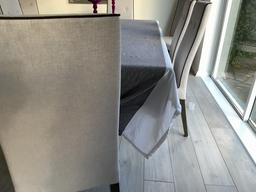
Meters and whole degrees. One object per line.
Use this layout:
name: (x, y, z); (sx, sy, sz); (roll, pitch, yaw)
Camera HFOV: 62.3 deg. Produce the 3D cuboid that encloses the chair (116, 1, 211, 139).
chair: (0.200, -0.210, 1.750); (0.590, 1.020, 0.490); (0, 26, -2)
